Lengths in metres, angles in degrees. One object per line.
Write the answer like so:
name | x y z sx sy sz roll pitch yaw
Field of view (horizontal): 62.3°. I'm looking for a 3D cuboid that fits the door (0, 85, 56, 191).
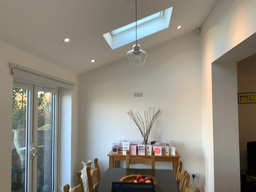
door | -1.610 0.840 3.150 0.100 1.910 2.040 0 -2 7
